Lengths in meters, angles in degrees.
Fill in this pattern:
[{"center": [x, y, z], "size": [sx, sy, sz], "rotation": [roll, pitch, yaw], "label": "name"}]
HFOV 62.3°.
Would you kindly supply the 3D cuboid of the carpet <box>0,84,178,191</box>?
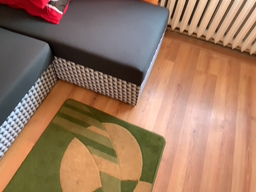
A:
[{"center": [-0.310, 0.630, 1.150], "size": [0.850, 0.030, 1.480], "rotation": [21, 57, 7], "label": "carpet"}]
